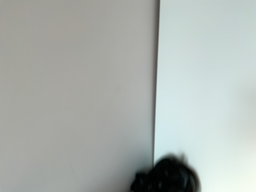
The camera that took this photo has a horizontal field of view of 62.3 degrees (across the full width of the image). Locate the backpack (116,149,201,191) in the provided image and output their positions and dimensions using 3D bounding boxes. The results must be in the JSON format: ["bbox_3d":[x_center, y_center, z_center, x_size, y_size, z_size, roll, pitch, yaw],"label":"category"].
[{"bbox_3d":[0.150,0.500,1.090,0.320,0.230,0.270,20,33,38],"label":"backpack"}]
